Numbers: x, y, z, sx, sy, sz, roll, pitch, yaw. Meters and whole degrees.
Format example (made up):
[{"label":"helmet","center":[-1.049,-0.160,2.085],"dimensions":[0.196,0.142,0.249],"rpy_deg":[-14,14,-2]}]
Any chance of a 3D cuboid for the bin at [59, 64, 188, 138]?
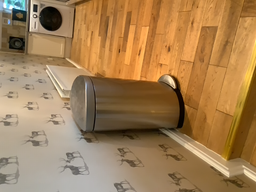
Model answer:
[{"label":"bin","center":[-0.040,0.020,1.430],"dimensions":[0.410,0.720,0.330],"rpy_deg":[32,116,58]}]
